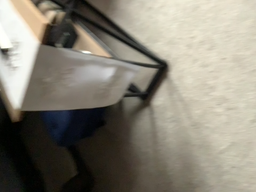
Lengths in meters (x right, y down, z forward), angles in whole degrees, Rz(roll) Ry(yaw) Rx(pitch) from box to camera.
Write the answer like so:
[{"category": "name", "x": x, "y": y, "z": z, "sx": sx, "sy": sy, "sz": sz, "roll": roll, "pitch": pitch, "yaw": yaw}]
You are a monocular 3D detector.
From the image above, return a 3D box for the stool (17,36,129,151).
[{"category": "stool", "x": -0.480, "y": -0.050, "z": 1.720, "sx": 0.750, "sy": 0.460, "sz": 0.480, "roll": 46, "pitch": 120, "yaw": 31}]
